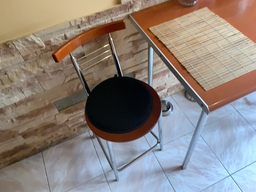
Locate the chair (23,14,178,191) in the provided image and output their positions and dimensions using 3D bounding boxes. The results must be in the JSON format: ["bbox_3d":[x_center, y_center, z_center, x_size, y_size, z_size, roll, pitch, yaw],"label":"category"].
[{"bbox_3d":[-0.100,0.110,1.150,0.490,0.840,0.410,-23,55,-11],"label":"chair"}]
